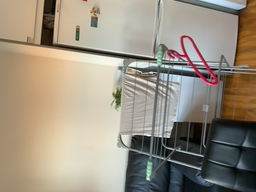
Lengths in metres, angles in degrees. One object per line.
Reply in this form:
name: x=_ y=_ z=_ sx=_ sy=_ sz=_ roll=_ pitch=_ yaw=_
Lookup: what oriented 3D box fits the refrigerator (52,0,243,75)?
refrigerator: x=0.190 y=-0.610 z=2.130 sx=0.630 sy=1.730 sz=0.560 roll=-168 pitch=84 yaw=-72
